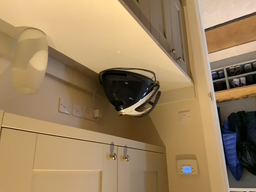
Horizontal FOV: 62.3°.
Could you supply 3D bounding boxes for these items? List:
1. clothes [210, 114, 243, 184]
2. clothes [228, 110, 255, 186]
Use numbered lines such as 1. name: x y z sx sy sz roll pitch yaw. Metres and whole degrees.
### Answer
1. clothes: 1.350 0.720 2.910 0.240 0.880 0.320 -12 157 30
2. clothes: 1.550 0.680 2.790 0.240 0.920 0.310 -12 157 29
